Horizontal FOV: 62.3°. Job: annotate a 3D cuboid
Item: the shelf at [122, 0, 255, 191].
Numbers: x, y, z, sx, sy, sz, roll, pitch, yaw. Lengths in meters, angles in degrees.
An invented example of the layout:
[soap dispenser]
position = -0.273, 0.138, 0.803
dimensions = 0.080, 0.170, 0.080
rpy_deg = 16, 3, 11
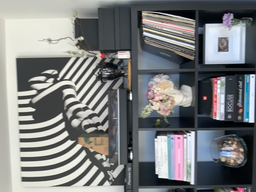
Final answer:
[shelf]
position = 0.750, 0.190, 1.460
dimensions = 0.410, 1.540, 1.560
rpy_deg = -100, 8, -86
